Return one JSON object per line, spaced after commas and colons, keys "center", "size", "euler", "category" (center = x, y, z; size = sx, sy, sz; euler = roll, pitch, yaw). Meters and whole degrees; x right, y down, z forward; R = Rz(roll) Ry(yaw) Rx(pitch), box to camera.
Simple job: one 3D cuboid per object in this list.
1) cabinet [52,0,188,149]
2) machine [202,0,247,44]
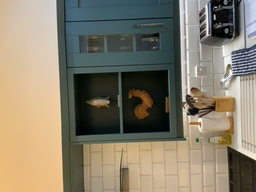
{"center": [-0.060, -0.350, 1.560], "size": [0.340, 0.850, 1.360], "euler": [-8, -84, -89], "category": "cabinet"}
{"center": [0.690, -0.560, 1.550], "size": [0.330, 0.170, 0.280], "euler": [-78, -15, -88], "category": "machine"}
